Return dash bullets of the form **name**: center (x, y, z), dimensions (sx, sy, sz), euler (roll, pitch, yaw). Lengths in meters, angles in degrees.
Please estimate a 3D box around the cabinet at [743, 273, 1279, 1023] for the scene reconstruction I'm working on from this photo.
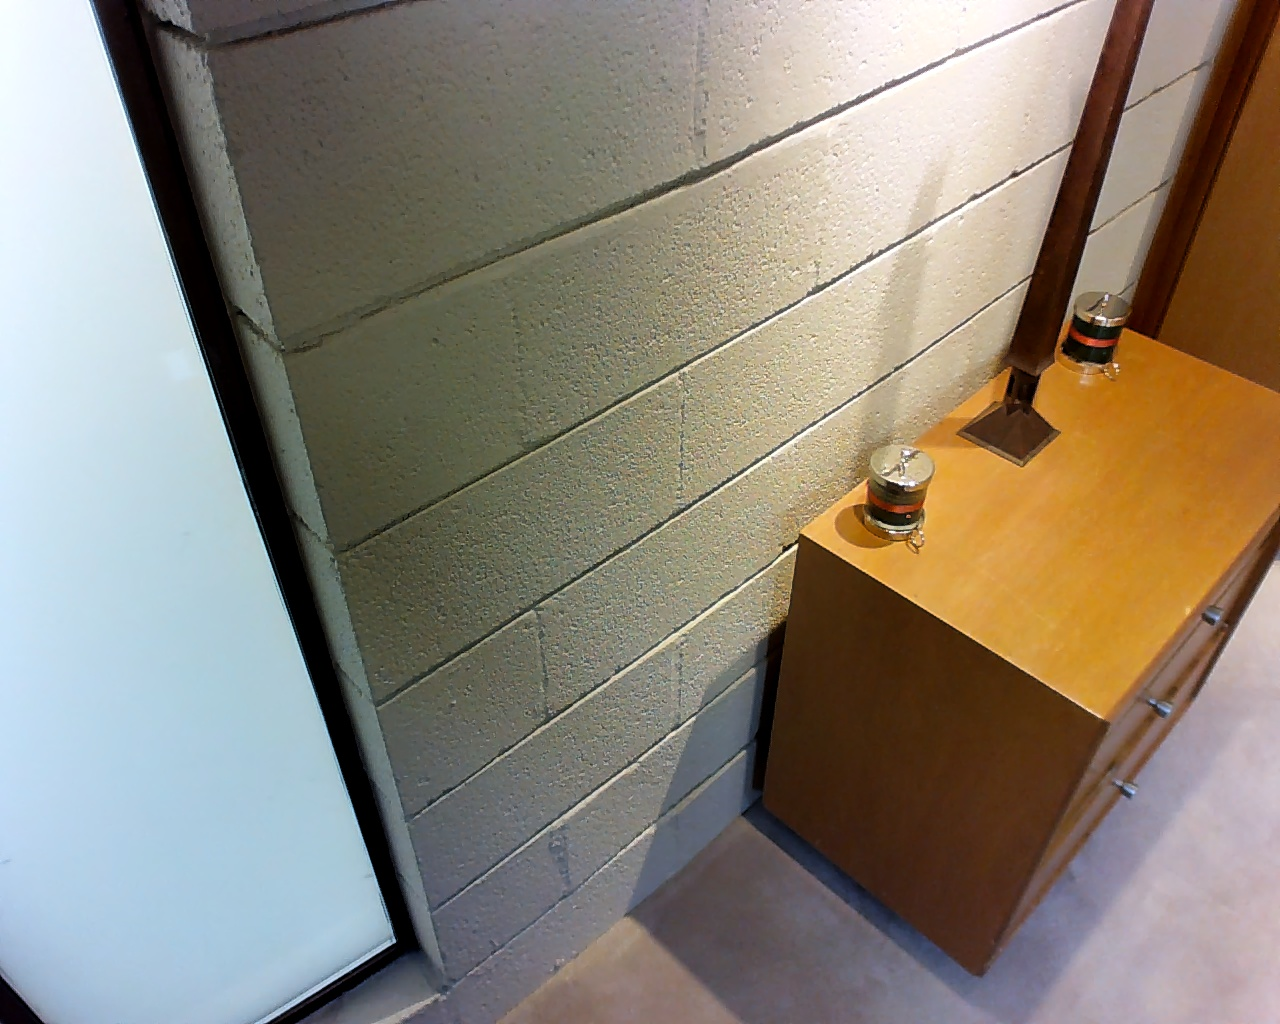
- **cabinet**: center (0.630, 0.180, 1.640), dimensions (0.820, 0.710, 0.470), euler (-32, 51, -30)
